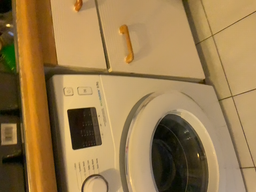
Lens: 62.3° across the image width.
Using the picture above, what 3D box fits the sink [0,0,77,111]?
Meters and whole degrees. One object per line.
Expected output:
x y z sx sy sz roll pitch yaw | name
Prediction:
-0.420 -0.220 0.820 0.500 0.170 0.440 -25 71 46 | sink

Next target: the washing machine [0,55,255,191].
0.000 0.310 0.900 0.640 0.910 0.620 -25 71 46 | washing machine
